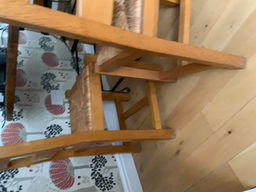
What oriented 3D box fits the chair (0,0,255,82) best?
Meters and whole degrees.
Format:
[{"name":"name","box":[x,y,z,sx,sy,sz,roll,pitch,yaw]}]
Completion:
[{"name":"chair","box":[-0.090,-0.320,0.710,0.500,1.020,0.440,-1,87,61]}]

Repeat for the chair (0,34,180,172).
[{"name":"chair","box":[-0.320,0.080,1.100,0.460,1.020,0.510,-34,59,55]}]
